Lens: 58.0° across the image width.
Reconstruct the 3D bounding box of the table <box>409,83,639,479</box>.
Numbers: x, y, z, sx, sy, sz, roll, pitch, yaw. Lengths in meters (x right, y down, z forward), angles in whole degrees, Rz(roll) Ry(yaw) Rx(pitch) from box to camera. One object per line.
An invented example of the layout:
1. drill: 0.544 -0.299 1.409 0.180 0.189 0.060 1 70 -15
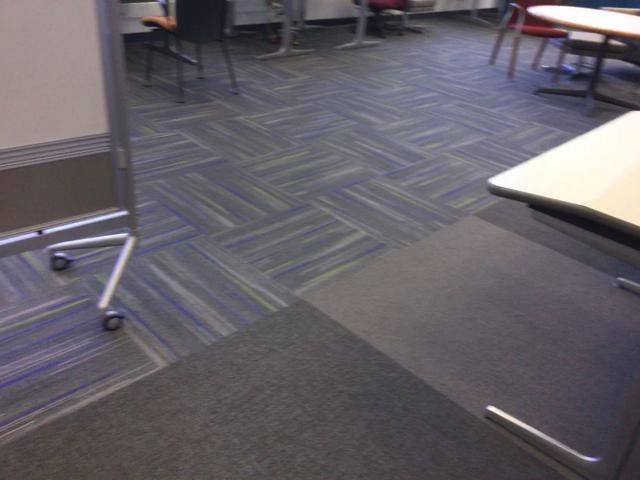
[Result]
1. table: 1.170 0.130 1.740 1.270 0.820 1.130 -21 38 -40
